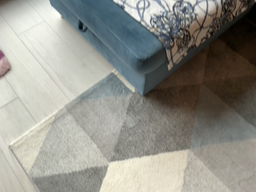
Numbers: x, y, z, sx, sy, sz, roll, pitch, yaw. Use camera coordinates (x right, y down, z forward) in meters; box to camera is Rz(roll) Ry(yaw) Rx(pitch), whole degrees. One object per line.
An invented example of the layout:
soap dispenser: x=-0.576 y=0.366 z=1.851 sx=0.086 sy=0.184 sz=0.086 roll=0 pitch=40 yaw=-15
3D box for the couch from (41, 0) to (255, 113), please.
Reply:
couch: x=0.120 y=-0.710 z=0.980 sx=0.940 sy=0.940 sz=0.940 roll=-36 pitch=70 yaw=-17
